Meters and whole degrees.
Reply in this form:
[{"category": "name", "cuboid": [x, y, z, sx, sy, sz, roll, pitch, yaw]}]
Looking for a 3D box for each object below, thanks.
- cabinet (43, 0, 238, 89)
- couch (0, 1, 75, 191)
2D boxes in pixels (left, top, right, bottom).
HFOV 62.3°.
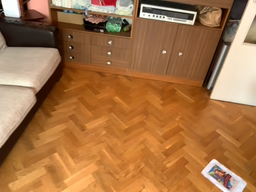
[{"category": "cabinet", "cuboid": [0.090, -0.970, 2.350, 1.910, 1.550, 0.430, 9, 37, 2]}, {"category": "couch", "cuboid": [-1.200, -0.120, 1.660, 1.030, 0.760, 1.640, 9, 37, 2]}]
